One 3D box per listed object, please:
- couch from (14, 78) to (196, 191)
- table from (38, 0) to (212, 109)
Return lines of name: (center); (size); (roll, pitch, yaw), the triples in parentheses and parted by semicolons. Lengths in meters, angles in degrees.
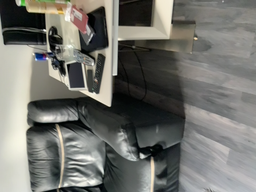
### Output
couch: (-0.270, 1.170, 1.980); (1.030, 0.960, 2.410); (23, 117, 46)
table: (-0.050, -0.680, 1.400); (0.870, 0.780, 1.180); (23, 117, 46)
